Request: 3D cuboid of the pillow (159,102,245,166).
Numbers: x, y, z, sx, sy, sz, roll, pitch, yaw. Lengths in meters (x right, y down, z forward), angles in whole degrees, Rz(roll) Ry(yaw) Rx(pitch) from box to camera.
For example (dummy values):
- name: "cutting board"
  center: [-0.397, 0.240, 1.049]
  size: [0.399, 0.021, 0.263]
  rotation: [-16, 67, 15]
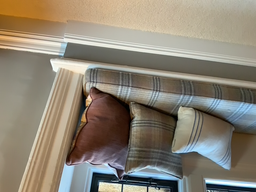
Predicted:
- name: "pillow"
  center: [0.410, 0.230, 1.210]
  size: [0.420, 0.230, 0.190]
  rotation: [17, 145, -19]

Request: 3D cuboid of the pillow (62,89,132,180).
- name: "pillow"
  center: [-0.140, 0.210, 1.120]
  size: [0.280, 0.370, 0.290]
  rotation: [5, 148, -1]

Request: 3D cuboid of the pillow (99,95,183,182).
- name: "pillow"
  center: [0.090, 0.260, 1.190]
  size: [0.200, 0.330, 0.430]
  rotation: [-25, 137, 37]
